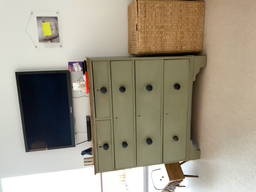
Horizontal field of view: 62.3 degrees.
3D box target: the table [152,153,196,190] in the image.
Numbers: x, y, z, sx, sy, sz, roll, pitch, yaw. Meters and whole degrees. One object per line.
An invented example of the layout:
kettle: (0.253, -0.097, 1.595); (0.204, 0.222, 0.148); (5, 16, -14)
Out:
table: (0.550, 0.950, 2.650); (0.490, 0.350, 0.240); (102, 159, -50)
